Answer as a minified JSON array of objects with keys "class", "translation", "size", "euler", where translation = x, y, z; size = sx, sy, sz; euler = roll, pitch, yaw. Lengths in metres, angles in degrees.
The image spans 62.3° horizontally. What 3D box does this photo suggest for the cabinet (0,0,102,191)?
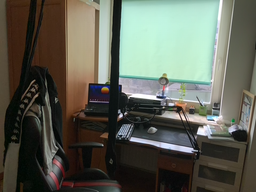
[{"class":"cabinet","translation":[-0.870,-0.040,2.530],"size":[0.820,2.000,0.680],"euler":[7,11,21]}]
